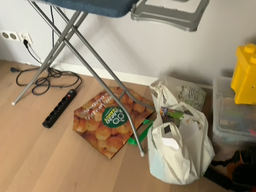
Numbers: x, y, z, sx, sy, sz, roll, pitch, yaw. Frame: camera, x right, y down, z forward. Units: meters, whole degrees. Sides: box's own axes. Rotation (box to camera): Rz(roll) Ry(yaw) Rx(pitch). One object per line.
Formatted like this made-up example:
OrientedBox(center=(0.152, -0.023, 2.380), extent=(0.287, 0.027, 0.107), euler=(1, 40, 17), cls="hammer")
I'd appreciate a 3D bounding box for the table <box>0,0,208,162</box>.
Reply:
OrientedBox(center=(-0.380, -0.260, 1.180), extent=(1.390, 0.840, 0.340), euler=(21, 53, 20), cls="table")
